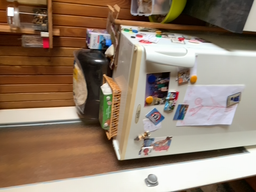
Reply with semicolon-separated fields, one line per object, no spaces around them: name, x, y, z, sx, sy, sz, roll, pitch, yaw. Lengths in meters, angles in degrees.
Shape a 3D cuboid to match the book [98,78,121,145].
book;-0.100;0.080;1.080;0.130;0.060;0.320;-121;34;-55
